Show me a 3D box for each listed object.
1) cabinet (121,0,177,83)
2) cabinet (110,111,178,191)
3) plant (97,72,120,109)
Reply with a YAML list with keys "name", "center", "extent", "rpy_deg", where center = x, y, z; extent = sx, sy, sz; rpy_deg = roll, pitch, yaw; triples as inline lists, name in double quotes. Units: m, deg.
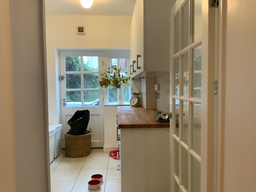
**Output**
- name: "cabinet"
  center: [0.180, -0.710, 3.090]
  extent: [0.390, 0.920, 2.070]
  rpy_deg: [0, 1, -6]
- name: "cabinet"
  center: [0.070, 0.740, 3.090]
  extent: [0.620, 0.870, 2.080]
  rpy_deg: [0, 1, -6]
- name: "plant"
  center: [-0.380, -0.110, 4.130]
  extent: [0.430, 0.690, 0.260]
  rpy_deg: [0, 1, -6]
